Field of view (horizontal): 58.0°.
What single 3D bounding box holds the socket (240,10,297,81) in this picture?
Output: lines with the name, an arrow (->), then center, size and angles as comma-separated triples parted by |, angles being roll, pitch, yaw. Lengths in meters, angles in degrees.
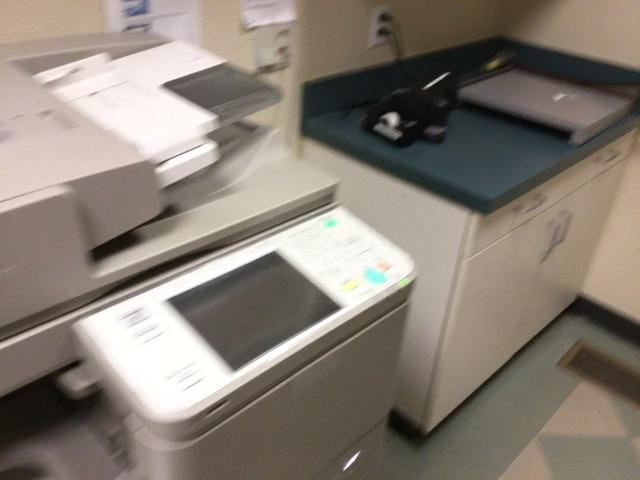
socket -> -0.120, -0.470, 1.390 | 0.020, 0.140, 0.160 | 27, 39, 37
